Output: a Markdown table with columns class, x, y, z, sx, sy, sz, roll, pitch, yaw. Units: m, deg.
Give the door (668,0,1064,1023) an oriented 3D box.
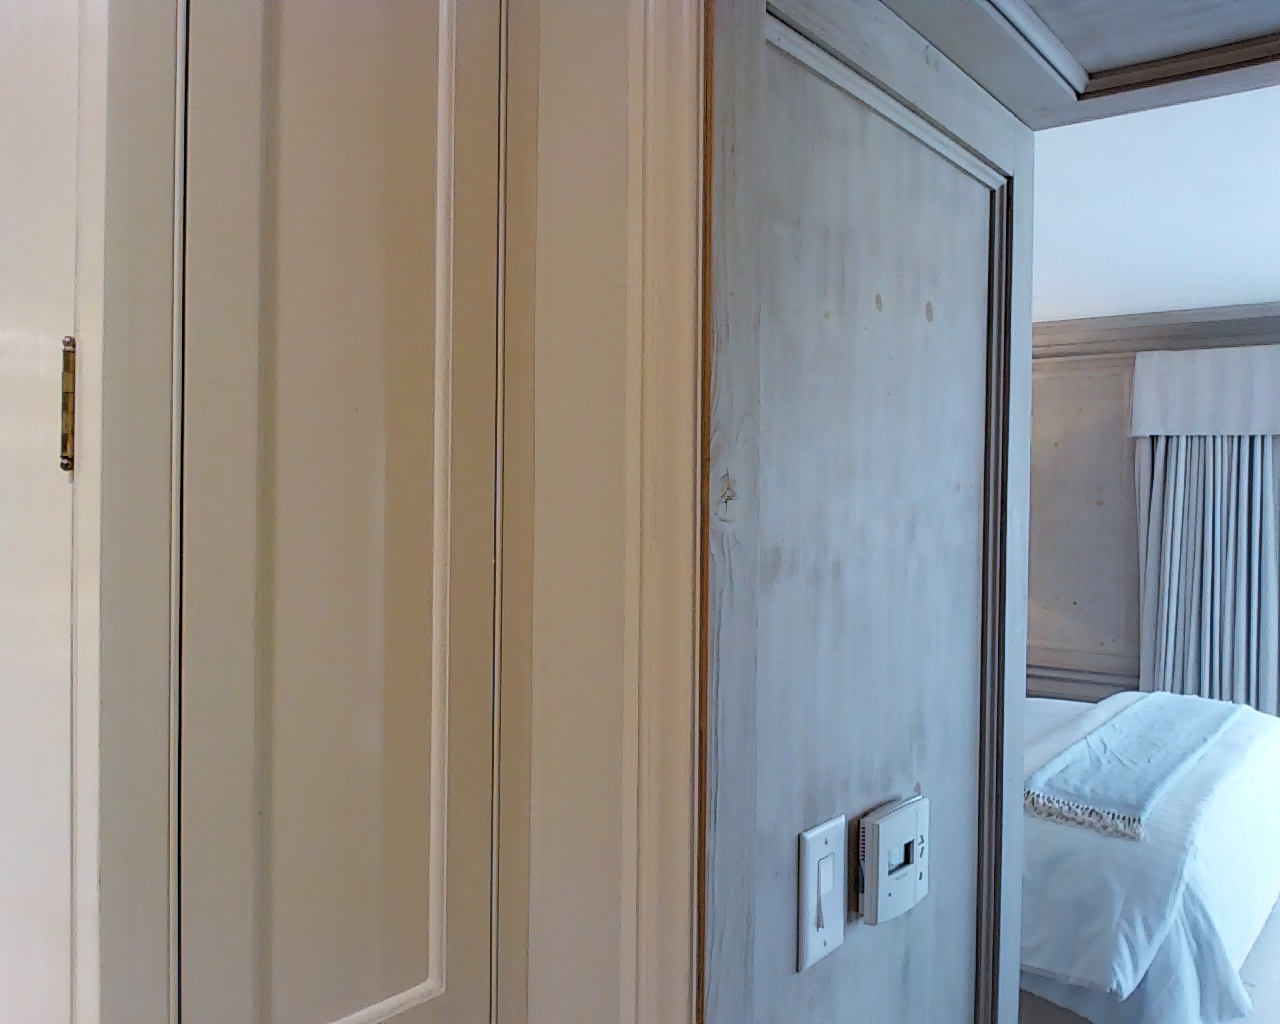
| class | x | y | z | sx | sy | sz | roll | pitch | yaw |
| --- | --- | --- | --- | --- | --- | --- | --- | --- | --- |
| door | 0.290 | 0.510 | 1.150 | 0.060 | 2.060 | 0.800 | 1 | 1 | 38 |
